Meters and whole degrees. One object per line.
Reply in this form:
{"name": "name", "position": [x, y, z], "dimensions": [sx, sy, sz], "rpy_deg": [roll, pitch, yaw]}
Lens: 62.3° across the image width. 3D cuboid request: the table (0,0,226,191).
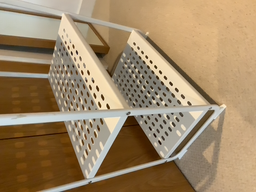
{"name": "table", "position": [-0.200, -0.040, 0.800], "dimensions": [0.620, 0.870, 0.360], "rpy_deg": [54, 130, 38]}
